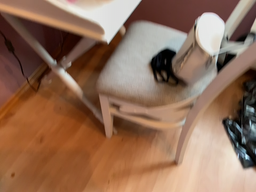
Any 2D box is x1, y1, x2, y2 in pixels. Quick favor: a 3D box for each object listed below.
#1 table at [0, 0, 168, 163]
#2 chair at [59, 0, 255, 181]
[{"bbox_3d":[-0.390,-0.400,1.120,0.970,0.830,0.940,20,58,13],"label":"table"},{"bbox_3d":[0.160,-0.050,0.900,0.540,0.790,0.430,19,57,12],"label":"chair"}]
